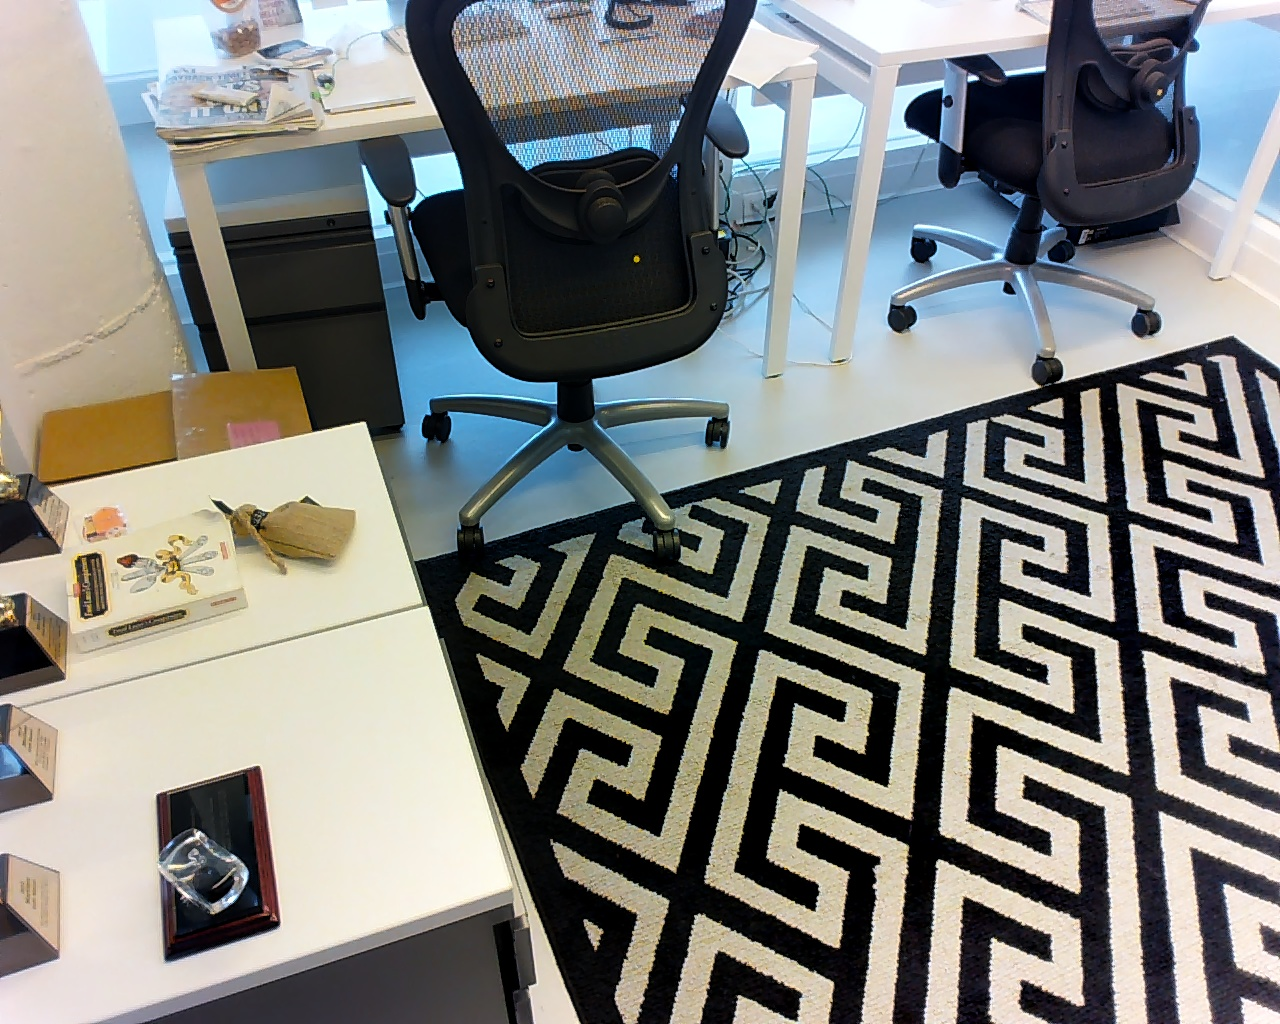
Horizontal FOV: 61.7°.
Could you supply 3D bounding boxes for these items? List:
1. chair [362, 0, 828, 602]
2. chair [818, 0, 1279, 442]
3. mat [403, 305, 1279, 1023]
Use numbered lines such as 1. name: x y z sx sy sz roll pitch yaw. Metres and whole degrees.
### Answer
1. chair: -0.110 -0.510 1.950 0.570 1.110 0.640 -14 44 -14
2. chair: 0.970 -0.880 2.440 0.740 1.070 0.720 -17 45 -18
3. mat: 0.830 0.280 1.850 2.160 0.090 1.610 -15 44 -15
